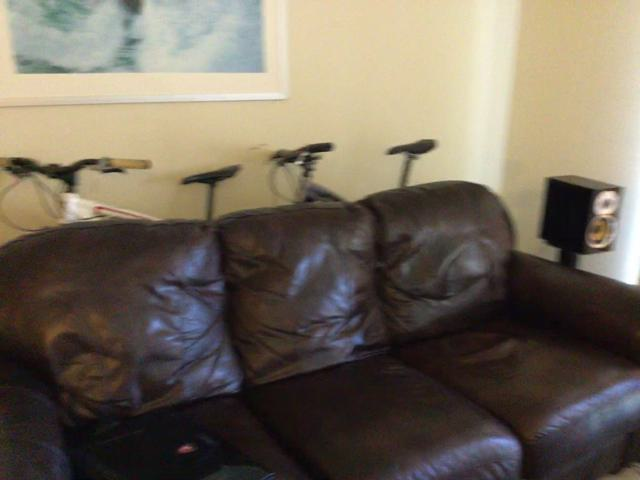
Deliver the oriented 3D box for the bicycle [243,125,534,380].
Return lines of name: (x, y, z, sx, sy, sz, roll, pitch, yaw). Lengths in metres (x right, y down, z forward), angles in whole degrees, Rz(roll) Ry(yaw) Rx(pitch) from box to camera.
bicycle: (0.300, -0.010, 2.730, 1.140, 0.950, 0.580, -5, 20, -30)

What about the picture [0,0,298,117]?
picture: (-0.640, -0.930, 2.180, 1.200, 0.880, 0.110, -8, 22, -28)

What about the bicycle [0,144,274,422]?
bicycle: (-0.720, 0.100, 2.250, 0.920, 0.870, 0.460, -5, 20, -30)

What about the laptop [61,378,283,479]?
laptop: (-0.350, 0.510, 1.350, 0.410, 0.110, 0.330, 21, 23, 41)
